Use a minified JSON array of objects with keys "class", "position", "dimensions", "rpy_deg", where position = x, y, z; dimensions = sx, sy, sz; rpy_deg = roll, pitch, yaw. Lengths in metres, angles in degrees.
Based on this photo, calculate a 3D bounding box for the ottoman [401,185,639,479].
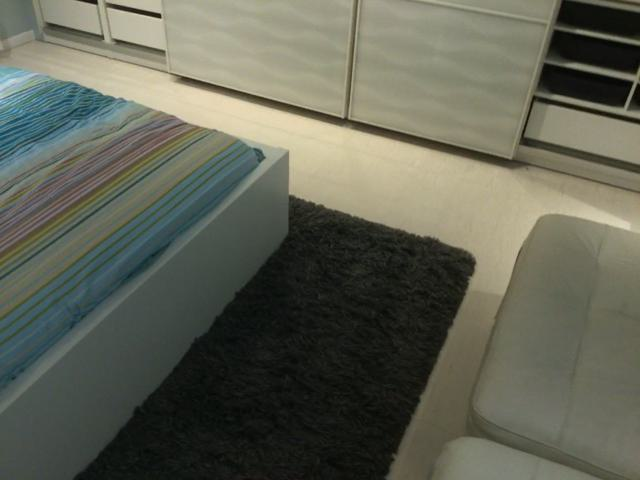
[{"class":"ottoman","position":[0.620,0.350,1.270],"dimensions":[0.630,0.440,0.850],"rpy_deg":[19,41,20]}]
